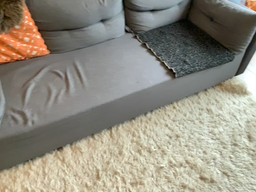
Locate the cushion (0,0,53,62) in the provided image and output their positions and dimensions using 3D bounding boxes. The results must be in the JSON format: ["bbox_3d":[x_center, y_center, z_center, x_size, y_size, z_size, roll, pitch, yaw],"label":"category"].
[{"bbox_3d":[-0.750,-0.440,1.390,0.430,0.400,0.100,-14,47,-21],"label":"cushion"}]

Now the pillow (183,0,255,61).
[{"bbox_3d":[0.770,-0.640,1.790,0.190,0.360,0.620,-19,51,-20],"label":"pillow"}]
